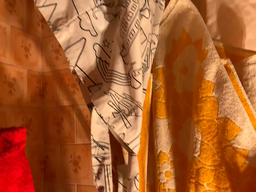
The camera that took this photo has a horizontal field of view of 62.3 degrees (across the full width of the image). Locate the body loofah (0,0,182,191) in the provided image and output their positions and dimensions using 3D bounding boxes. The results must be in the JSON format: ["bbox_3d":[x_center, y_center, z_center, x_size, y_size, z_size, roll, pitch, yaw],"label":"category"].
[{"bbox_3d":[-0.080,0.020,0.430,0.330,0.690,0.230,-4,175,17],"label":"body loofah"}]
